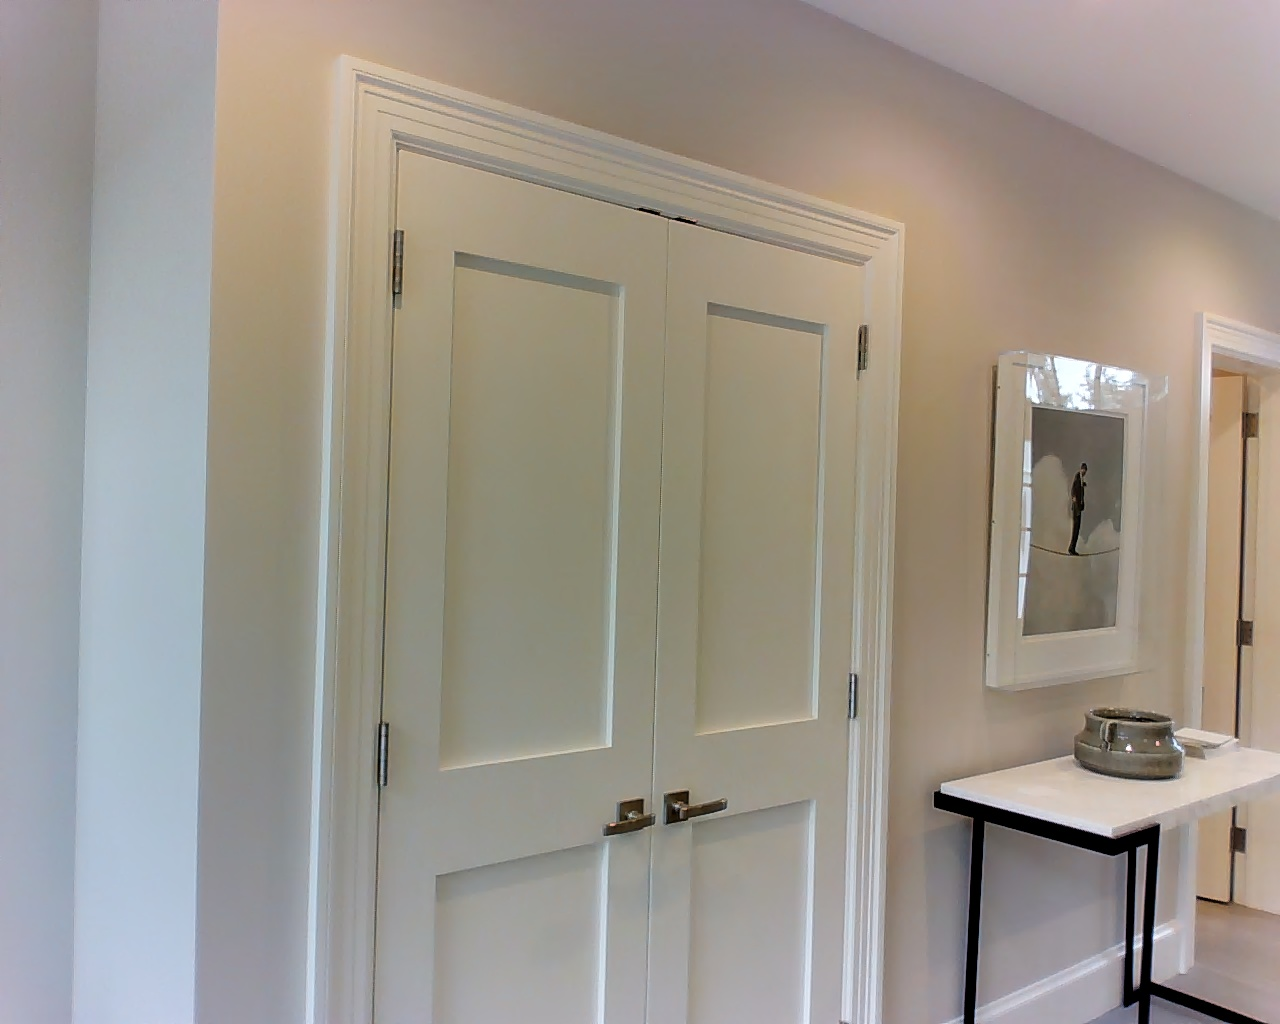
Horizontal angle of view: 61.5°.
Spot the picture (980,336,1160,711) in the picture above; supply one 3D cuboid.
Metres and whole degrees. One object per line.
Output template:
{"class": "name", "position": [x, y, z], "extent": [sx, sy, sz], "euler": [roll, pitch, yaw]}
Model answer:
{"class": "picture", "position": [1.290, 0.040, 3.180], "extent": [0.830, 1.010, 0.060], "euler": [2, 0, -38]}

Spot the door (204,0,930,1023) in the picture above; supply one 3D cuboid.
{"class": "door", "position": [0.010, 0.380, 2.200], "extent": [1.700, 2.330, 0.060], "euler": [2, 0, -38]}
